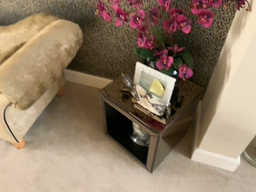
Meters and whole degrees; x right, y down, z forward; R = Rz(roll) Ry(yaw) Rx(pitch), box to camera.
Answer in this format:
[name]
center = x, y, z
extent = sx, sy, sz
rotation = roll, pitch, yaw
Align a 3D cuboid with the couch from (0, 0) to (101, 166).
[couch]
center = -1.130, -0.230, 1.580
extent = 1.610, 0.710, 0.790
rotation = 13, 48, 11
